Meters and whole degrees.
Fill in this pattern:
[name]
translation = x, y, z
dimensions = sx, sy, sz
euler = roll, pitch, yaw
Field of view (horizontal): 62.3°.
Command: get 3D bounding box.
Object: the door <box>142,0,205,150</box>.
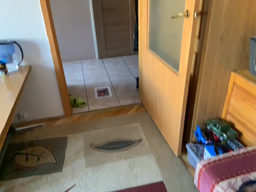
[door]
translation = 0.260, -0.630, 1.490
dimensions = 0.060, 1.910, 0.880
euler = -9, 32, -11
